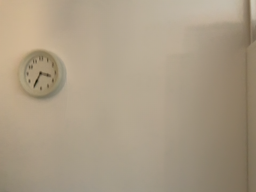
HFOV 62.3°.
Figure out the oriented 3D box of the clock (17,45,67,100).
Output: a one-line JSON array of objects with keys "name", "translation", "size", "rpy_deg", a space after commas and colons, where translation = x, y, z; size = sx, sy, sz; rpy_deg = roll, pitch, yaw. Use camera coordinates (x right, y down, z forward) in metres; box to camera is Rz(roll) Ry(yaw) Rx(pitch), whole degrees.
[{"name": "clock", "translation": [-0.630, -0.170, 1.560], "size": [0.340, 0.390, 0.080], "rpy_deg": [0, -2, 9]}]
